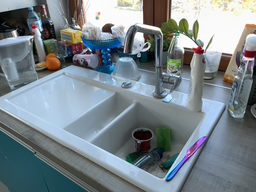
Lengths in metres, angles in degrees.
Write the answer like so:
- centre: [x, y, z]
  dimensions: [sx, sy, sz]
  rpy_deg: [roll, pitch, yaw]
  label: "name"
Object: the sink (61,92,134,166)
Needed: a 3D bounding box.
- centre: [-0.110, 0.120, 0.900]
  dimensions: [0.110, 0.130, 0.320]
  rpy_deg: [18, 36, 30]
  label: "sink"
